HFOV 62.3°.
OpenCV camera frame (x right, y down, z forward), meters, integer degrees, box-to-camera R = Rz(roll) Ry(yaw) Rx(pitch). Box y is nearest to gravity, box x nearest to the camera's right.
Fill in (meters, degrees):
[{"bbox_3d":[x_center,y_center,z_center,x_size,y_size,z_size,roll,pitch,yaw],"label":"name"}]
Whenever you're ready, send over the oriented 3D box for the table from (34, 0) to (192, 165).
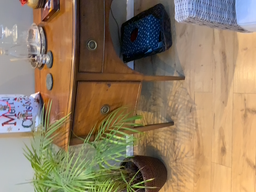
[{"bbox_3d":[-0.090,-0.390,1.440,0.630,0.860,1.350,3,95,51],"label":"table"}]
